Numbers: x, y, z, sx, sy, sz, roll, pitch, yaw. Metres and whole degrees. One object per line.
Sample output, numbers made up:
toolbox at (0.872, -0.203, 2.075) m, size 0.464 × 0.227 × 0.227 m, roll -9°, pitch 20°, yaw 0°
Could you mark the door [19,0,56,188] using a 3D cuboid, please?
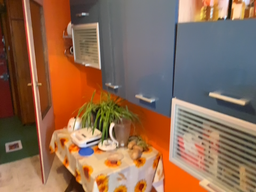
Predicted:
door at (-0.980, -0.010, 2.410) m, size 0.070 × 1.880 × 0.730 m, roll -2°, pitch 15°, yaw -10°
